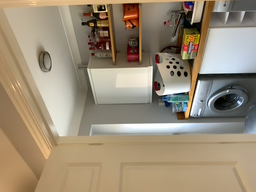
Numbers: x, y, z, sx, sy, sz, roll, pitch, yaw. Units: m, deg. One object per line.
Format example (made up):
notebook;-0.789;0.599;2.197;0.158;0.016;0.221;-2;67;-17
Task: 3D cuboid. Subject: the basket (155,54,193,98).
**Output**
basket;0.500;-0.240;2.410;0.500;0.340;0.220;-89;-3;-46

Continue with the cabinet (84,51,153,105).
cabinet;-0.100;-0.230;2.770;0.370;0.790;0.560;-90;-3;-49
